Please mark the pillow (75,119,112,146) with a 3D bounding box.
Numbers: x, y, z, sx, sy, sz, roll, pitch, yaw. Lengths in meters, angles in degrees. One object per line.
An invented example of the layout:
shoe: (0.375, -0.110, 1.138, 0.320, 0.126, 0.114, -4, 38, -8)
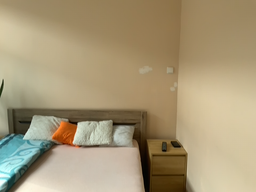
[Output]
pillow: (-0.420, 0.450, 2.630, 0.410, 0.250, 0.250, 1, 10, 0)
